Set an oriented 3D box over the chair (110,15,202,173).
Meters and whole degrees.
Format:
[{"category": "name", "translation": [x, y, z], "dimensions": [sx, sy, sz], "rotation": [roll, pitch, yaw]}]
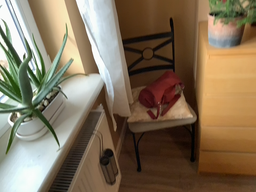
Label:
[{"category": "chair", "translation": [0.190, -0.010, 1.670], "dimensions": [0.490, 0.990, 0.650], "rotation": [-8, 34, 1]}]
